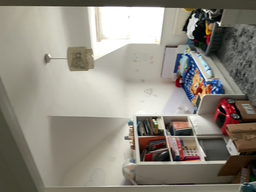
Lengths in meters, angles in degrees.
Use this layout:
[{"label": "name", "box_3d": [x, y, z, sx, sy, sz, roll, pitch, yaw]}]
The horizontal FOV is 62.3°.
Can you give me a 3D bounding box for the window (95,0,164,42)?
[{"label": "window", "box_3d": [0.020, -1.350, 3.740, 0.060, 1.130, 0.820, -93, 3, -50]}]
